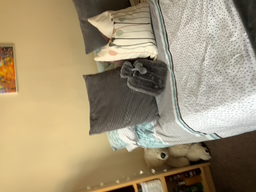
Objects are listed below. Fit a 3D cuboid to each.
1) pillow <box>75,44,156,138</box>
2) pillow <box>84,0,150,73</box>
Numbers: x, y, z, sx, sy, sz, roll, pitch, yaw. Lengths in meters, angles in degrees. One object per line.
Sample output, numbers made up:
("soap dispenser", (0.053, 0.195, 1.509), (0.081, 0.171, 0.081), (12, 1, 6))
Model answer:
("pillow", (-0.050, 0.010, 1.480), (0.250, 0.530, 0.500), (-11, 68, 36))
("pillow", (-0.050, -0.450, 1.420), (0.210, 0.410, 0.440), (-13, 67, 34))
